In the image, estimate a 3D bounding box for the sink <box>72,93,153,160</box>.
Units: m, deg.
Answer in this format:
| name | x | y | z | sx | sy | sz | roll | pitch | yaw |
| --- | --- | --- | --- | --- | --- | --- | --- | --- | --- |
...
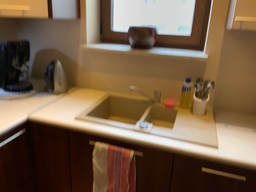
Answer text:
| name | x | y | z | sx | sy | sz | roll | pitch | yaw |
| --- | --- | --- | --- | --- | --- | --- | --- | --- | --- |
| sink | -0.080 | 0.170 | 1.440 | 0.390 | 0.210 | 0.450 | 9 | 21 | 16 |
